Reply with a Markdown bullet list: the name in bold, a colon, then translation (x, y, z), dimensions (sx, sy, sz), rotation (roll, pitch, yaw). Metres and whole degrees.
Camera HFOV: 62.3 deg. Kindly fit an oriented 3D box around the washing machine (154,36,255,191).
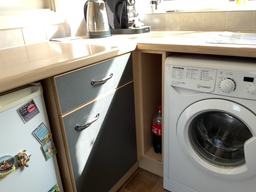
- **washing machine**: translation (0.590, 0.140, 1.230), dimensions (0.610, 0.850, 0.680), rotation (12, 27, 33)
